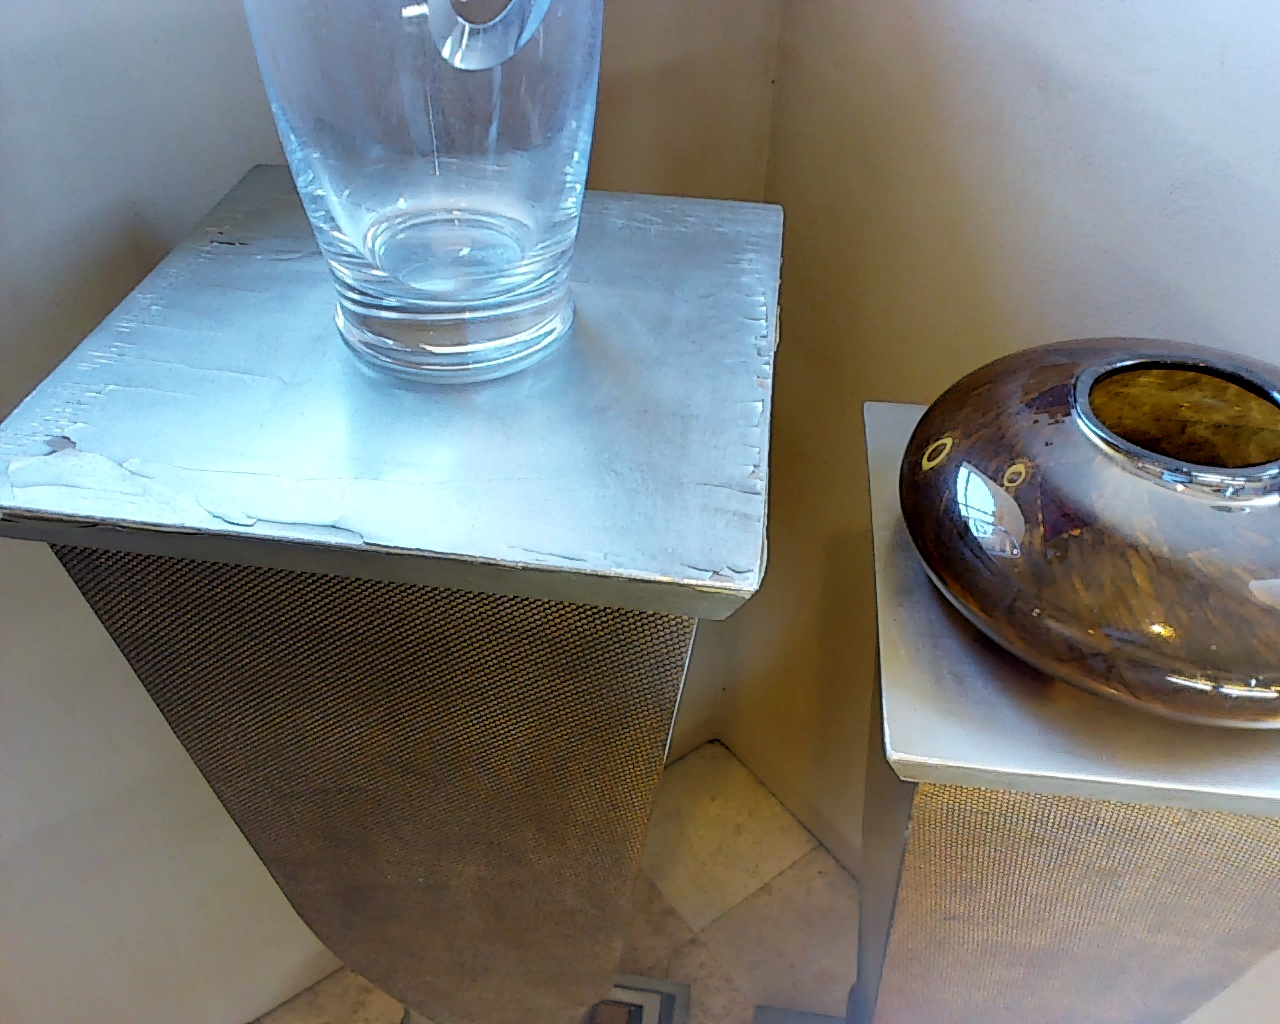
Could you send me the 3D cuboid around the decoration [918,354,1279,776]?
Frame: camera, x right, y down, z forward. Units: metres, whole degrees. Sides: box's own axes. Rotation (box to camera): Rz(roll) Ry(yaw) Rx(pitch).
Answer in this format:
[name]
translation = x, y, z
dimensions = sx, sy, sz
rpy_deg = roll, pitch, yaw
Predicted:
[decoration]
translation = 0.310, 0.020, 0.650
dimensions = 0.250, 0.090, 0.260
rpy_deg = 6, 39, 6
